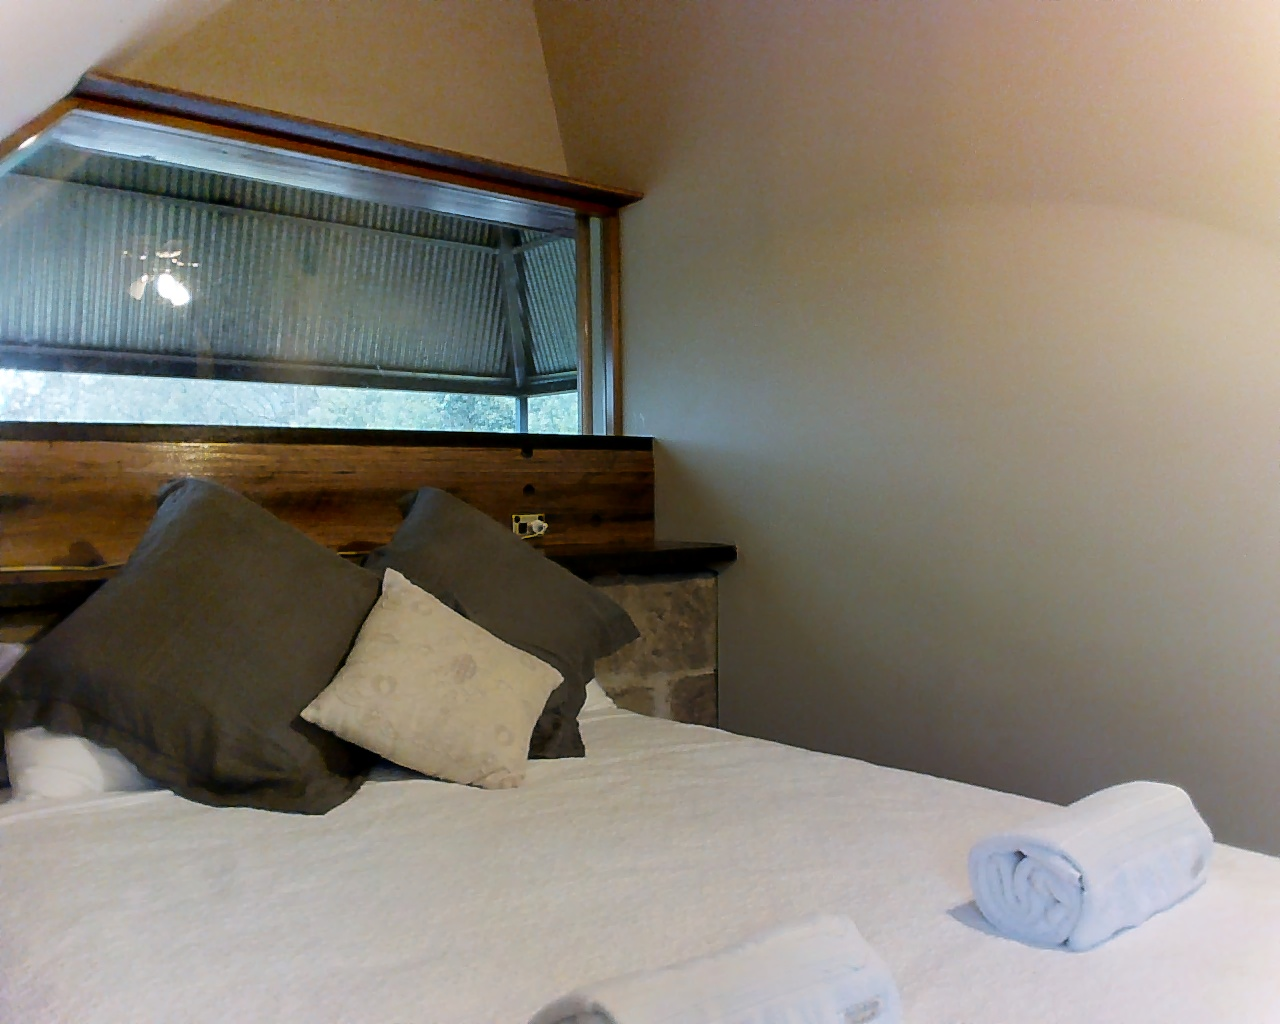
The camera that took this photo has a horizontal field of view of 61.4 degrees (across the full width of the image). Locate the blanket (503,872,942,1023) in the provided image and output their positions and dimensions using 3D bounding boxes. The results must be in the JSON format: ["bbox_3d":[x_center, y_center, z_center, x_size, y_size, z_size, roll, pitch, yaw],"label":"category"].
[{"bbox_3d":[0.080,0.440,0.950,0.350,0.120,0.190,0,1,-39],"label":"blanket"}]

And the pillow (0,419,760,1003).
[{"bbox_3d":[-0.580,0.290,2.260,1.380,0.400,0.940,0,42,-40],"label":"pillow"}]

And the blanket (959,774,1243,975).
[{"bbox_3d":[0.600,0.450,1.390,0.360,0.130,0.190,0,1,-39],"label":"blanket"}]
